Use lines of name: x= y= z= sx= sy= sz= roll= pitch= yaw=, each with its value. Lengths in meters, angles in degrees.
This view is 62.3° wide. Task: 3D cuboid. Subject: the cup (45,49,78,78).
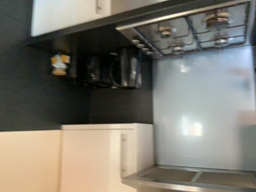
cup: x=-0.420 y=-0.200 z=1.350 sx=0.140 sy=0.140 sz=0.130 roll=-4 pitch=172 yaw=25

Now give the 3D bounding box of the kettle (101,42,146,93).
kettle: x=-0.020 y=-0.170 z=1.410 sx=0.180 sy=0.250 sz=0.300 roll=-4 pitch=172 yaw=25

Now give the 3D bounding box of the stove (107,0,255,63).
stove: x=0.310 y=-0.300 z=1.110 sx=0.630 sy=0.030 sz=0.570 roll=-4 pitch=172 yaw=25
